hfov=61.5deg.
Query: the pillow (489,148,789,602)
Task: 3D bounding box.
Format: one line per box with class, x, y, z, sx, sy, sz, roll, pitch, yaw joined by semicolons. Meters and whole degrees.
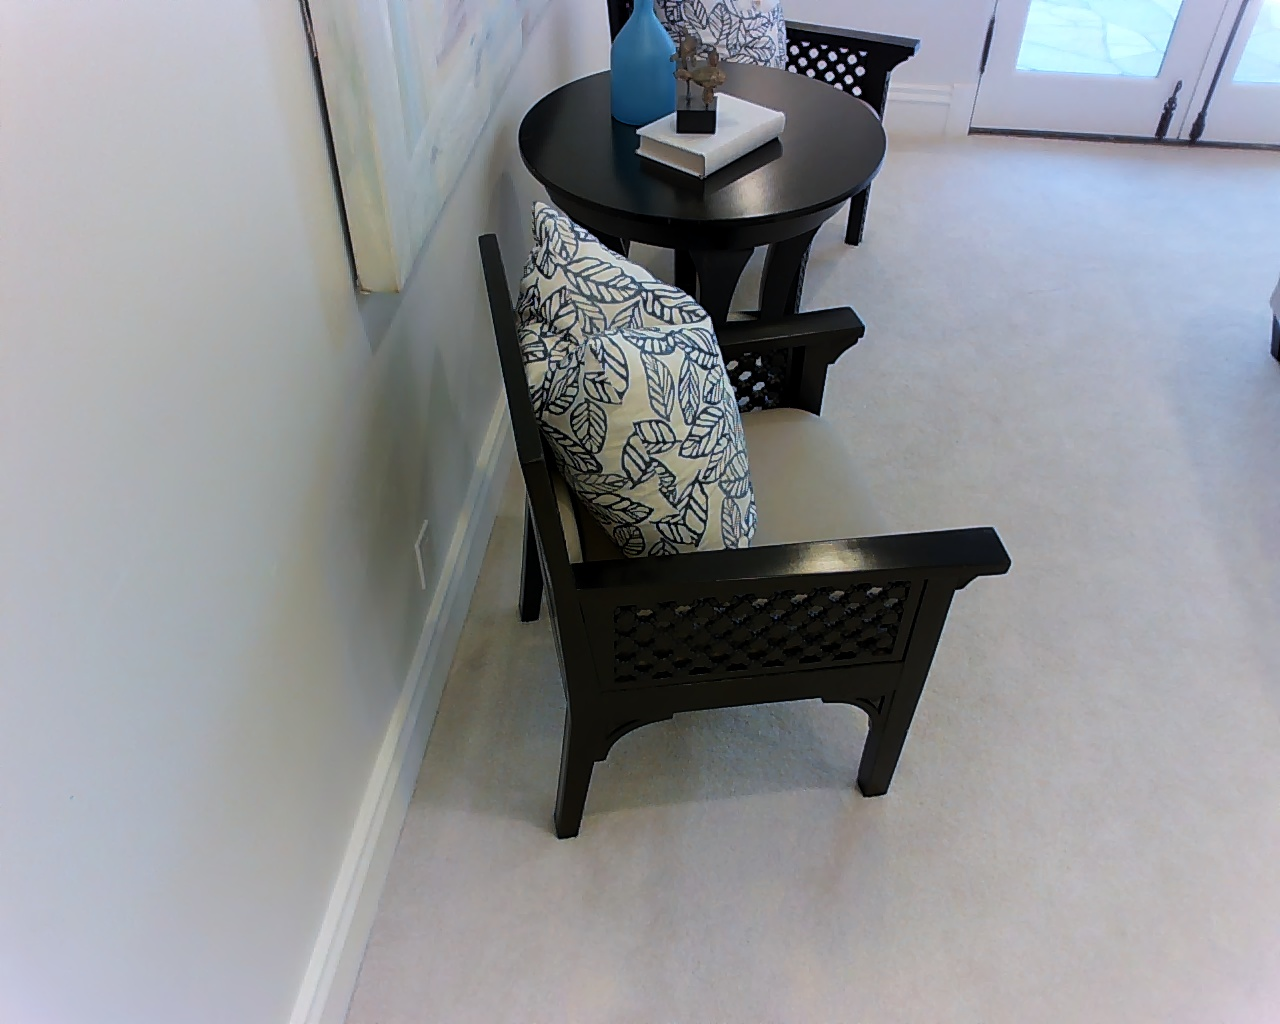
pillow;-0.010;-0.200;1.680;0.320;0.480;0.450;-12;57;-6
